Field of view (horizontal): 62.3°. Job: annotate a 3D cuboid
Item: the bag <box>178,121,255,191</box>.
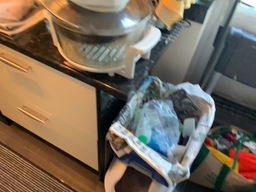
[{"bbox_3d":[0.600,0.440,1.300,0.300,0.350,0.380,-15,59,-27],"label":"bag"}]
